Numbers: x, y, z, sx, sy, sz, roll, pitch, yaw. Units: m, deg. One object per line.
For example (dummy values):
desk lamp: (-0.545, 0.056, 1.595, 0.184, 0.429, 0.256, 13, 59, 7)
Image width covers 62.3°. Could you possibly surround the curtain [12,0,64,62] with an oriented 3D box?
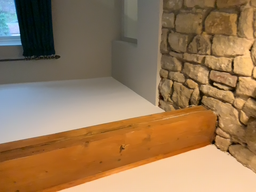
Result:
curtain: (-1.120, -1.470, 2.460, 0.510, 2.090, 0.260, -9, -157, -25)
